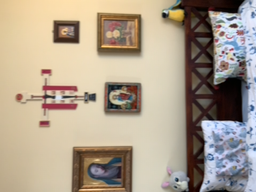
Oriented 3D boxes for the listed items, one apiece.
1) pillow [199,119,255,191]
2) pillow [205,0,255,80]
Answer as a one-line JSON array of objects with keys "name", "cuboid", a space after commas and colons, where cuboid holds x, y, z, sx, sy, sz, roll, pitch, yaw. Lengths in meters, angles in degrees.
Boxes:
[{"name": "pillow", "cuboid": [0.770, 0.440, 1.640, 0.240, 0.400, 0.510, 9, -100, -70]}, {"name": "pillow", "cuboid": [0.800, -0.410, 1.650, 0.120, 0.340, 0.530, 7, -98, -47]}]
